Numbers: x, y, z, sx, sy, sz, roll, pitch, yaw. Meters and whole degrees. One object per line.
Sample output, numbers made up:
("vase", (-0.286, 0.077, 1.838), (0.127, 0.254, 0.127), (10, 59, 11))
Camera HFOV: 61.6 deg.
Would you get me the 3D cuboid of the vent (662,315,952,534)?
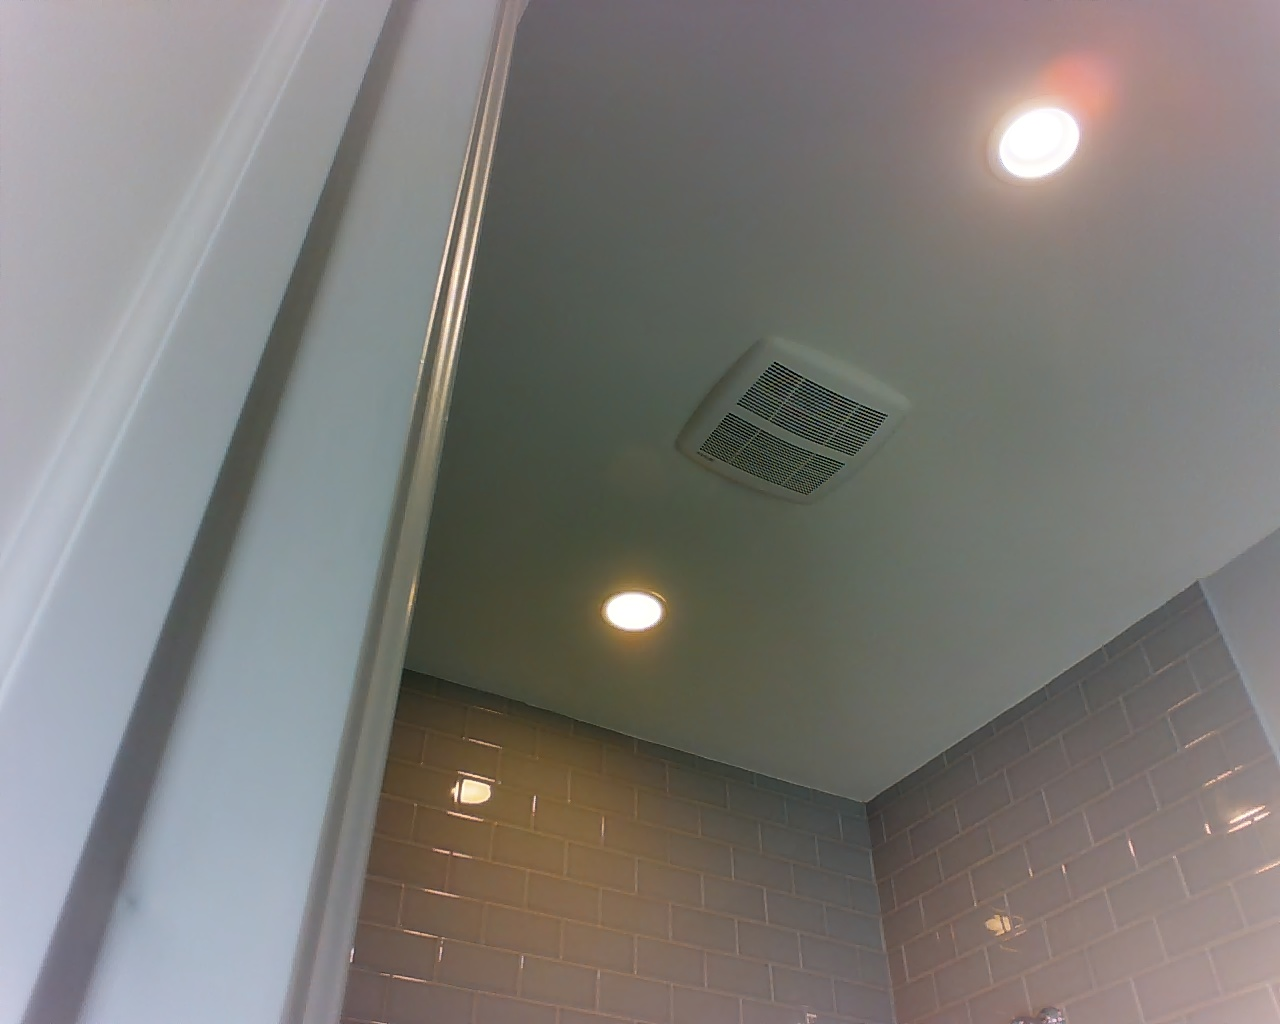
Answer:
("vent", (0.250, -0.120, 1.650), (0.320, 0.030, 0.310), (21, -47, -21))
